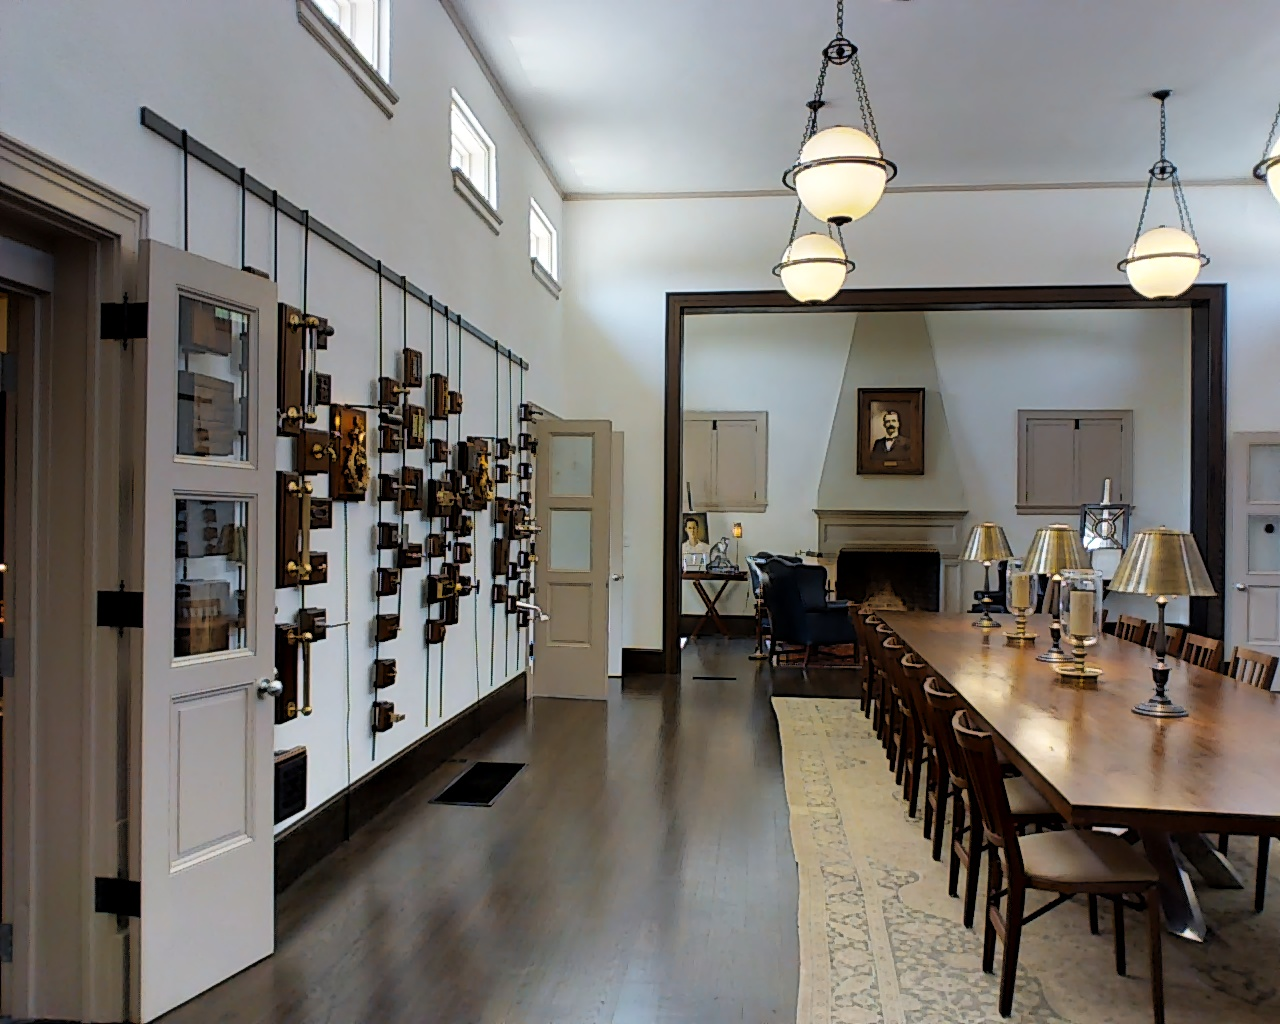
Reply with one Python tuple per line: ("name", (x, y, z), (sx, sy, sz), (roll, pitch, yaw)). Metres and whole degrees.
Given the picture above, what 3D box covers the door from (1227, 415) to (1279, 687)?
("door", (5.729, 0.340, 9.460), (0.950, 2.380, 0.180), (1, 0, 6))
